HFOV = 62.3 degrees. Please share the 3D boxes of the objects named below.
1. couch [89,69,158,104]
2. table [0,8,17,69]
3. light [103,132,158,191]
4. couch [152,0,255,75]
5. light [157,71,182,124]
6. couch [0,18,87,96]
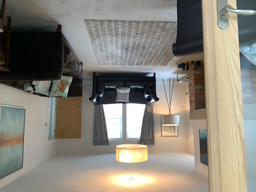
[{"bbox_3d":[-0.150,-0.260,6.570,1.960,0.890,1.070,1,174,-5],"label":"couch"},{"bbox_3d":[-1.680,-0.760,2.830,0.220,0.740,0.250,1,174,-3],"label":"table"},{"bbox_3d":[0.030,1.230,4.080,0.640,0.770,0.720,36,174,2],"label":"light"},{"bbox_3d":[0.920,-0.770,1.940,0.940,0.870,1.030,6,172,-41],"label":"couch"},{"bbox_3d":[1.340,0.080,7.040,0.590,1.650,0.820,1,174,-5],"label":"light"},{"bbox_3d":[-1.550,-0.550,4.130,1.210,0.860,2.310,1,174,-5],"label":"couch"}]
